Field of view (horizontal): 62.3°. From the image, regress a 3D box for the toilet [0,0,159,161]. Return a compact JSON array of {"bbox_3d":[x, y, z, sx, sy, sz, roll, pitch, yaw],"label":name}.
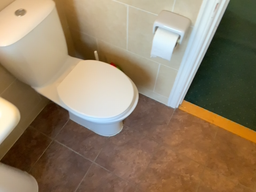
[{"bbox_3d":[-0.260,-0.060,1.200,0.660,0.770,0.390,24,61,13],"label":"toilet"}]
